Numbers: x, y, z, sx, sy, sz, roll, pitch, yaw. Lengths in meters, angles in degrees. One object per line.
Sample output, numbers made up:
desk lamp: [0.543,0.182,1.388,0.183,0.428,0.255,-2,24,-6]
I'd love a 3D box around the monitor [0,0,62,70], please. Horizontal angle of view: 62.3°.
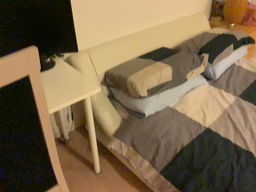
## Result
monitor: [-0.580,-0.320,1.090,0.400,0.360,0.040,-8,36,-9]
